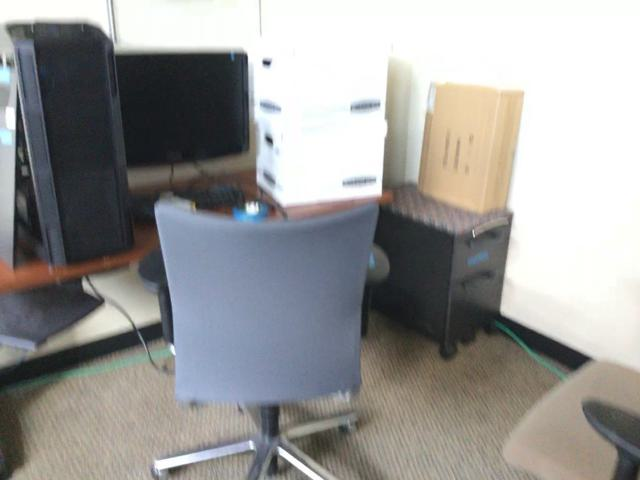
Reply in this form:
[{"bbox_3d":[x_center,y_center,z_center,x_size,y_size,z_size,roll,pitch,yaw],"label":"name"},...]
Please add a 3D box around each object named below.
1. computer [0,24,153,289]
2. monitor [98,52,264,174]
[{"bbox_3d":[-0.780,-0.270,1.630,0.350,0.600,0.610,-11,22,-40],"label":"computer"},{"bbox_3d":[-0.440,-0.420,1.910,0.520,0.350,0.130,-11,22,-40],"label":"monitor"}]
